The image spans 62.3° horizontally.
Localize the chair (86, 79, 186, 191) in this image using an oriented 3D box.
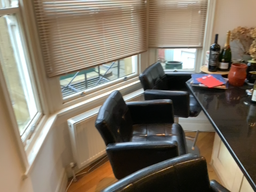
[{"bbox_3d":[0.110,0.440,1.640,0.540,0.920,0.710,3,26,10],"label":"chair"}]
